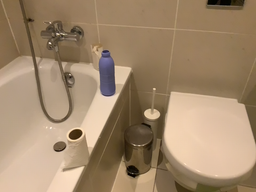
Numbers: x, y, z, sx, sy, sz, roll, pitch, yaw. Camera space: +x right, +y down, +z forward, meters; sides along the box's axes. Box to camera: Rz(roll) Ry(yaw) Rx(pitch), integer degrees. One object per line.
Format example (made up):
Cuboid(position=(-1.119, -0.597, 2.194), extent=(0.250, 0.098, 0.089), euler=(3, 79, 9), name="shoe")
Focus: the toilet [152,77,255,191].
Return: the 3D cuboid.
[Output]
Cuboid(position=(0.360, 0.250, 1.080), extent=(0.380, 0.410, 0.580), euler=(8, 38, 12), name="toilet")
